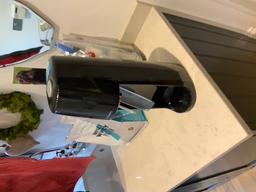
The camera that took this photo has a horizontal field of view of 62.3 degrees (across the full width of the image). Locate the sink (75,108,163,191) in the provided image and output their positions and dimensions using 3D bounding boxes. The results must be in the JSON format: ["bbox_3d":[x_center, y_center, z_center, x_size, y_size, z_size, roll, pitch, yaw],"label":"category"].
[{"bbox_3d":[-0.110,0.490,1.390,0.540,0.230,0.610,-58,44,40],"label":"sink"}]
